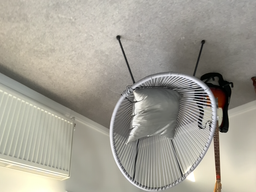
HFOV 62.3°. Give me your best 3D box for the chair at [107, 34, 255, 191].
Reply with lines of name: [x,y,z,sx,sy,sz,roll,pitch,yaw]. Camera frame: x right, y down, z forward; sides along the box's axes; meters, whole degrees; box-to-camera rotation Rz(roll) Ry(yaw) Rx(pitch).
chair: [0.220,0.140,1.540,0.710,0.810,0.800,-2,145,-7]
